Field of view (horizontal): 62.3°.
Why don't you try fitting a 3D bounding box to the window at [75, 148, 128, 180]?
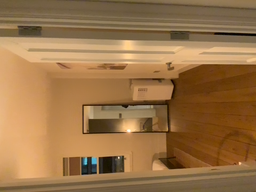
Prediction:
[{"bbox_3d":[-0.580,1.520,4.760,0.090,1.160,0.630,168,101,-81],"label":"window"}]
